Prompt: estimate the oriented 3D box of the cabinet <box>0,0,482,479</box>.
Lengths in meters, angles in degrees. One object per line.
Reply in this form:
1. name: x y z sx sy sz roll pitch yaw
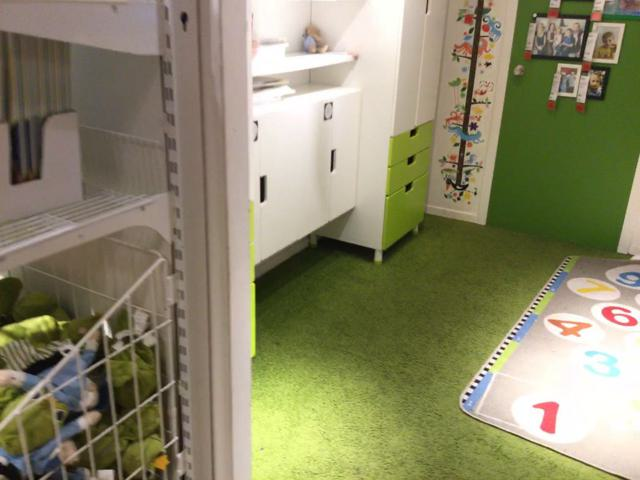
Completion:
1. cabinet: -0.120 -0.620 2.410 0.650 2.000 2.370 17 27 32
